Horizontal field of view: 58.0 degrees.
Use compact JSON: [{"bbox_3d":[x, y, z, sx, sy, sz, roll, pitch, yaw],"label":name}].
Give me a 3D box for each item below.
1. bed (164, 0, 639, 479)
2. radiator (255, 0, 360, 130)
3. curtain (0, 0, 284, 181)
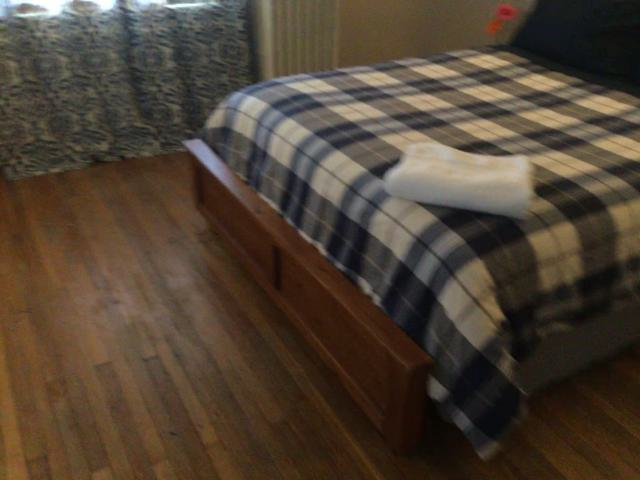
[{"bbox_3d":[0.790,-0.520,2.290,2.190,1.410,1.890,-16,35,-27],"label":"bed"},{"bbox_3d":[-0.080,-1.190,3.540,0.530,0.880,0.330,-16,35,-27],"label":"radiator"},{"bbox_3d":[-0.950,-1.460,2.880,1.560,2.140,0.250,-14,34,-24],"label":"curtain"}]
